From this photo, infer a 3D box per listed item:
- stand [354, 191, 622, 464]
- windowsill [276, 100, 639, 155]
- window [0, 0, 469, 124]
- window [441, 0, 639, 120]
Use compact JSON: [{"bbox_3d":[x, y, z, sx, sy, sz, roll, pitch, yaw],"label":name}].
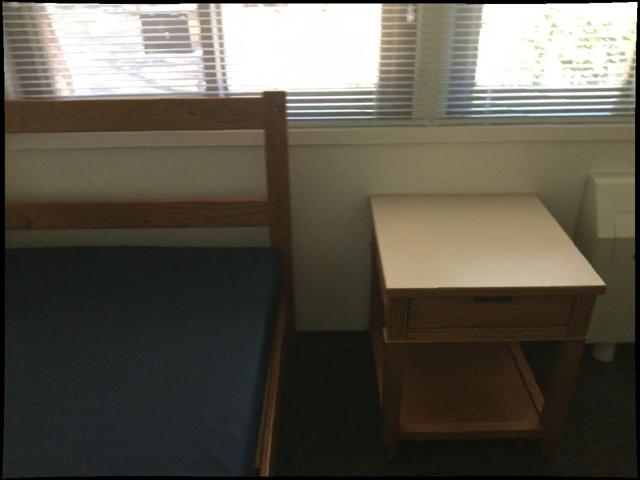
[{"bbox_3d":[0.409,0.241,1.700,0.569,0.601,0.520,0,30,0],"label":"stand"},{"bbox_3d":[0.718,-0.331,1.700,1.686,0.140,0.080,0,30,0],"label":"windowsill"},{"bbox_3d":[-0.259,-0.561,1.690,1.297,0.371,0.250,0,30,0],"label":"window"},{"bbox_3d":[0.967,-0.561,1.670,1.147,0.351,0.260,0,30,0],"label":"window"}]
